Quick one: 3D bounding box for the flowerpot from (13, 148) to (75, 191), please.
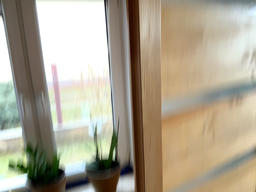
[{"bbox_3d":[-0.510,0.550,1.350,0.310,0.320,0.220,-6,14,-15],"label":"flowerpot"}]

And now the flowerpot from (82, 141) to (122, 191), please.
[{"bbox_3d":[-0.180,0.520,1.450,0.210,0.330,0.210,-7,14,-17],"label":"flowerpot"}]
